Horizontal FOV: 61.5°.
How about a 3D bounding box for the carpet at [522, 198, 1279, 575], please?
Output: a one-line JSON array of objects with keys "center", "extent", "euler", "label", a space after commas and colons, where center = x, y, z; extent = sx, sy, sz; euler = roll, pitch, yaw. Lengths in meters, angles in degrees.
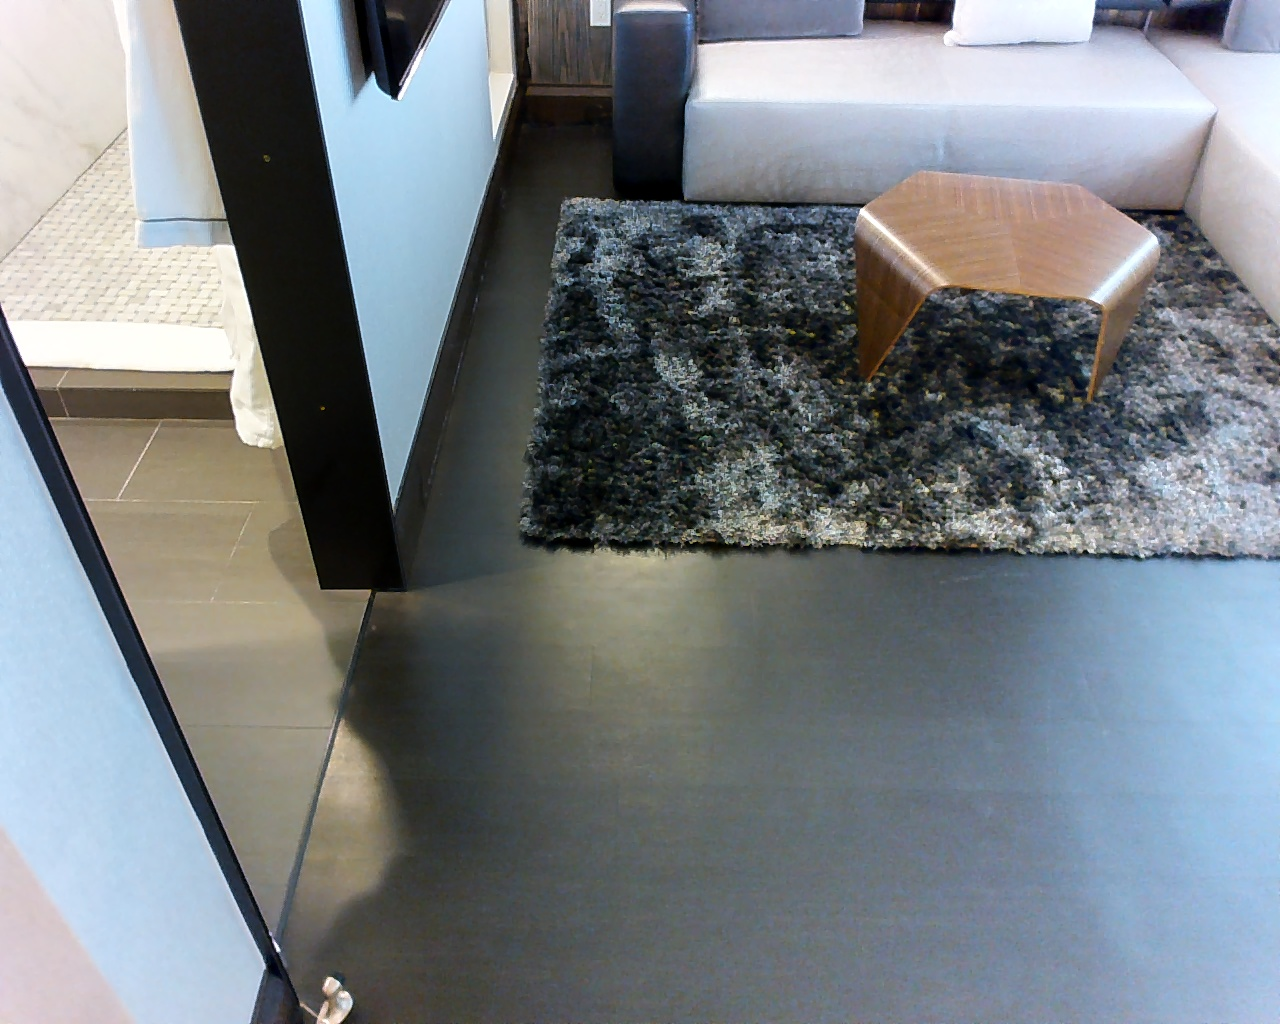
[{"center": [0.760, -0.430, 2.840], "extent": [1.990, 0.080, 1.590], "euler": [1, 41, 0], "label": "carpet"}]
